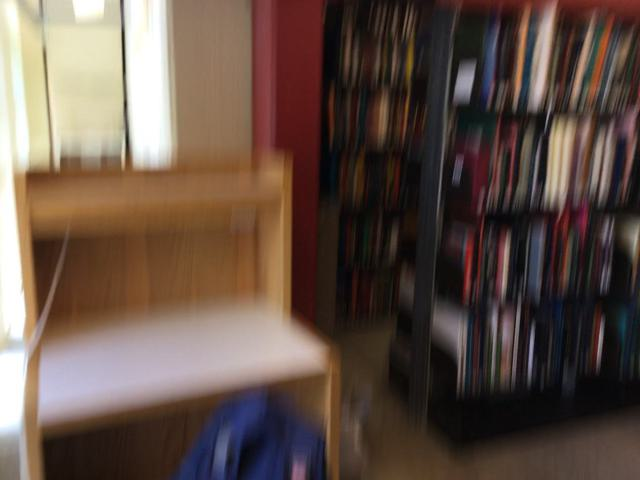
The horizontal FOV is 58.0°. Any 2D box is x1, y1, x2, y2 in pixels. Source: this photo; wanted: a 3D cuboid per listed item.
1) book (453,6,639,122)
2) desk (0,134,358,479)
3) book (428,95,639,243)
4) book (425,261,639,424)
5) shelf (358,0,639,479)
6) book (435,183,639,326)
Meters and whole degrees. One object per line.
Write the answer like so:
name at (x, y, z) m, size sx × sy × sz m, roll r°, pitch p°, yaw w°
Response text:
book at (1.300, -0.710, 2.390) m, size 1.510 × 0.390 × 0.310 m, roll -6°, pitch 13°, yaw -18°
desk at (-0.420, 0.390, 1.640) m, size 0.830 × 1.310 × 0.740 m, roll -6°, pitch 13°, yaw -18°
book at (1.260, -0.360, 2.540) m, size 1.520 × 0.530 × 0.430 m, roll -6°, pitch 13°, yaw -18°
book at (1.200, 0.400, 2.600) m, size 1.430 × 0.450 × 0.360 m, roll -6°, pitch 13°, yaw -18°
shelf at (1.110, -0.110, 2.750) m, size 1.620 × 1.870 × 0.890 m, roll -6°, pitch 13°, yaw -18°
book at (1.260, 0.010, 2.560) m, size 1.490 × 0.450 × 0.340 m, roll -6°, pitch 13°, yaw -18°
